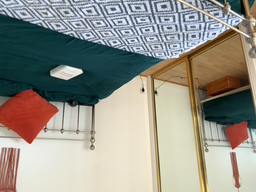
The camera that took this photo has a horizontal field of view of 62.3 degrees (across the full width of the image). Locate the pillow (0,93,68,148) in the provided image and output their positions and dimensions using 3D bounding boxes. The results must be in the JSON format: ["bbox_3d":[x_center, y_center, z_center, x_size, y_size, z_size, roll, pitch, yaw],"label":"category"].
[{"bbox_3d":[-1.020,0.240,2.240,0.640,0.460,0.230,-6,169,-37],"label":"pillow"}]
